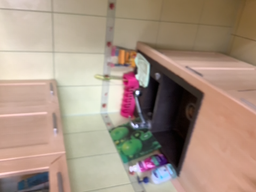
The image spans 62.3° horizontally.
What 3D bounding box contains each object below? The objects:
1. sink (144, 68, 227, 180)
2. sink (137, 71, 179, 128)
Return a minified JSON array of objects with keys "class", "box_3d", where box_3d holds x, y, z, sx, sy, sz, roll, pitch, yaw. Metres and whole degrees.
[{"class":"sink","box_3d":[0.300,0.150,1.270,0.360,0.200,0.540,-129,41,-56]},{"class":"sink","box_3d":[0.200,0.020,1.490,0.190,0.170,0.340,-129,41,-56]}]
